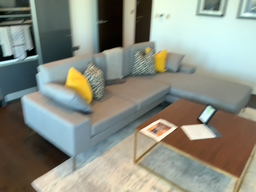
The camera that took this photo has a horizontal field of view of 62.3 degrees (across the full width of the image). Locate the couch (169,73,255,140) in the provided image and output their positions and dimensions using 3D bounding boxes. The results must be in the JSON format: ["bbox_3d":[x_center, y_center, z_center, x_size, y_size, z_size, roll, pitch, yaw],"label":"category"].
[{"bbox_3d":[1.200,0.070,2.950,0.920,0.410,0.810,21,31,35],"label":"couch"}]

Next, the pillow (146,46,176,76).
[{"bbox_3d":[0.520,-0.550,3.350,0.360,0.330,0.200,-16,27,4],"label":"pillow"}]

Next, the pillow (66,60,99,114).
[{"bbox_3d":[-0.510,-0.100,2.340,0.140,0.330,0.500,-26,50,7],"label":"pillow"}]
